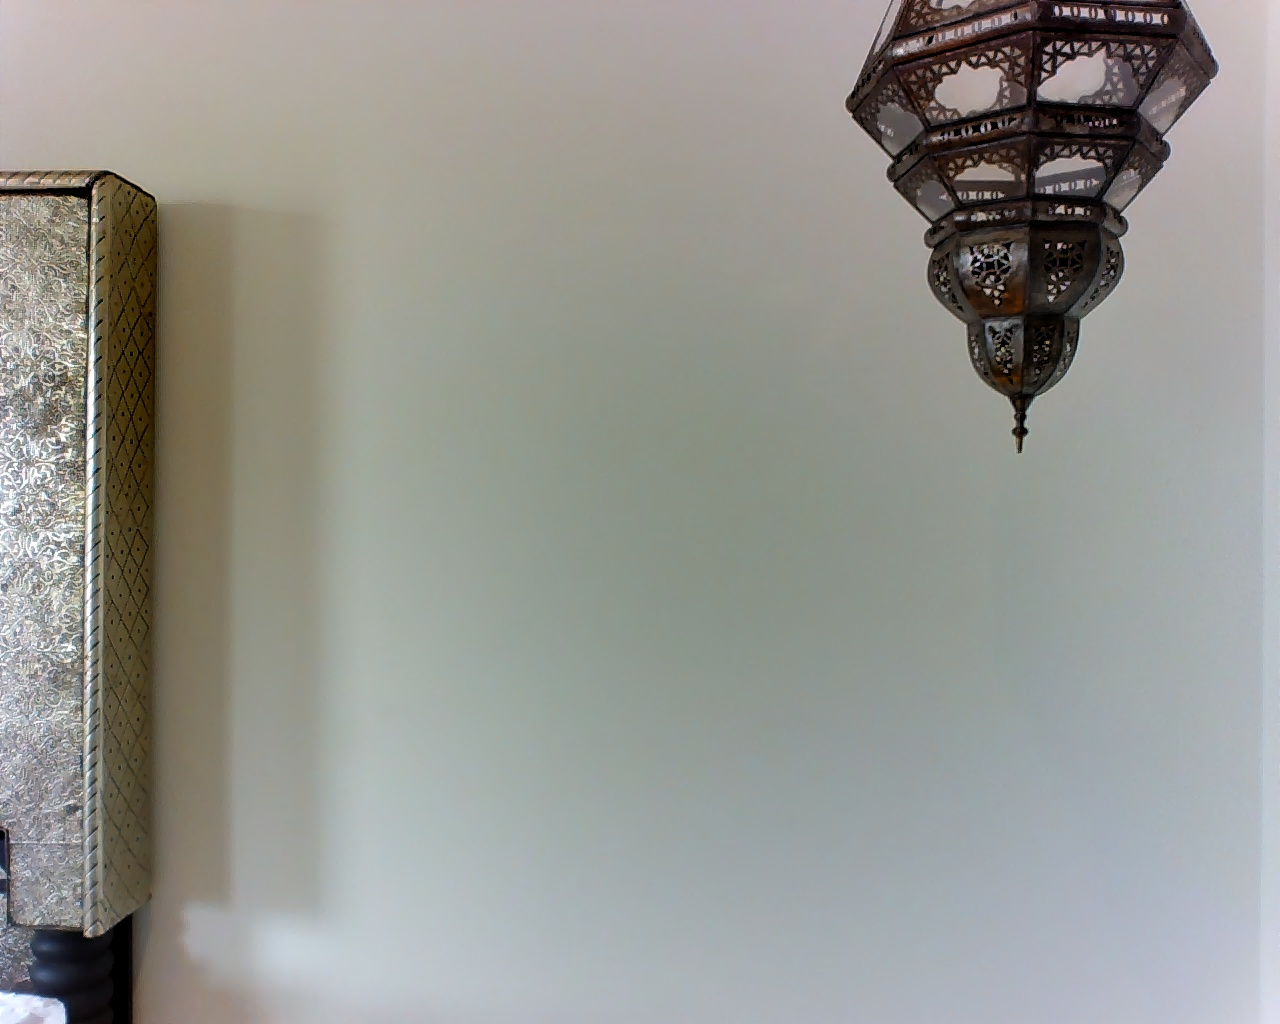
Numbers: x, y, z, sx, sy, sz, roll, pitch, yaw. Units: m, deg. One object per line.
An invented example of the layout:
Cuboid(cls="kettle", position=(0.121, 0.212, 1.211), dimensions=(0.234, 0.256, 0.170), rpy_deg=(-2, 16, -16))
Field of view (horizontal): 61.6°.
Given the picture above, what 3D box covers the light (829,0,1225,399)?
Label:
Cuboid(cls="light", position=(0.310, -0.380, 0.870), dimensions=(0.280, 0.550, 0.150), rpy_deg=(0, 0, 25))
